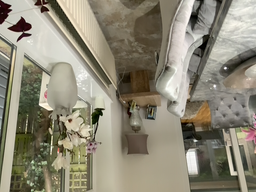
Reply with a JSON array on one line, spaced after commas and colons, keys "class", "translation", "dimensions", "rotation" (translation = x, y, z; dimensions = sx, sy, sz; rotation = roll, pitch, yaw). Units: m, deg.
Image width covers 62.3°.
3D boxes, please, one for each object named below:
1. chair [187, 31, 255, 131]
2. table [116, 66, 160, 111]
[{"class": "chair", "translation": [1.190, -0.140, 2.630], "dimensions": [0.670, 1.010, 0.670], "rotation": [-5, 162, 6]}, {"class": "table", "translation": [0.170, -0.100, 3.410], "dimensions": [0.630, 0.520, 0.560], "rotation": [-5, 162, 6]}]
